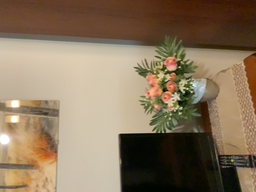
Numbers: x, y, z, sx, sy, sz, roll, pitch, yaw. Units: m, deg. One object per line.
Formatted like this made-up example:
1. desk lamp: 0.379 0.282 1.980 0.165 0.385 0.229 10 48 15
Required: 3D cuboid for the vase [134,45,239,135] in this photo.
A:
1. vase: 0.240 0.000 1.040 0.380 0.320 0.320 125 143 -69
